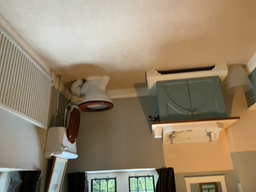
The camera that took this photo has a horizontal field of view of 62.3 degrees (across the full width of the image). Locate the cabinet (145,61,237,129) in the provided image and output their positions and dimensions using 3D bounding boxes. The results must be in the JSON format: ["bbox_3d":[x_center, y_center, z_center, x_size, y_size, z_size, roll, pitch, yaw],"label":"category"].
[{"bbox_3d":[0.750,0.020,2.770,0.970,0.660,0.520,-5,160,5],"label":"cabinet"}]

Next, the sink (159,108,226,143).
[{"bbox_3d":[0.770,0.390,2.670,0.710,0.290,0.450,-5,160,5],"label":"sink"}]

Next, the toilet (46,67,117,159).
[{"bbox_3d":[-0.540,0.230,2.650,0.690,1.000,0.470,-5,160,5],"label":"toilet"}]
